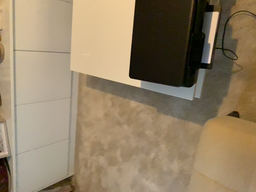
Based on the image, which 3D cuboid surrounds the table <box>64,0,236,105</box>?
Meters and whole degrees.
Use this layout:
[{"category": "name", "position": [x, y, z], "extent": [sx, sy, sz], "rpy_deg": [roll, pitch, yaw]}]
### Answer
[{"category": "table", "position": [0.060, -0.550, 1.270], "extent": [1.010, 0.300, 0.960], "rpy_deg": [15, 106, 37]}]
